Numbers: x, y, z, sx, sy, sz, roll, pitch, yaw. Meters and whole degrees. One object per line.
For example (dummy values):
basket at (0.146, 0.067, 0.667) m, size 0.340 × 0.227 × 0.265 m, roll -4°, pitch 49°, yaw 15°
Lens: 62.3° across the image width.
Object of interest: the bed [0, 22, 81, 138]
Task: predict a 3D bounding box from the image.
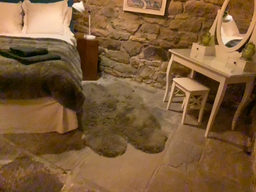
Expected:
bed at (-1.520, -0.420, 2.730) m, size 1.770 × 0.680 × 2.270 m, roll 1°, pitch 26°, yaw -13°
